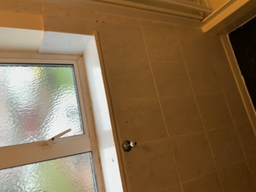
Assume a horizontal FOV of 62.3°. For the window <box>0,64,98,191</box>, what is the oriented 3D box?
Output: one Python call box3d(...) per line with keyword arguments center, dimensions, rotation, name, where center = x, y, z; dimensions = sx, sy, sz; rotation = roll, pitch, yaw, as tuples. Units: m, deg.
box3d(center=(-0.530, 0.290, 0.850), dimensions=(0.050, 0.790, 0.890), rotation=(-33, 65, 56), name="window")
